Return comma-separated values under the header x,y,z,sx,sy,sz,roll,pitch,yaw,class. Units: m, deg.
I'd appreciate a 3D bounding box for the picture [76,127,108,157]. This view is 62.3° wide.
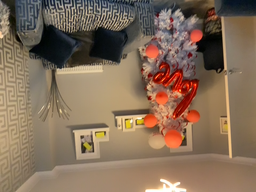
x,y,z,sx,sy,sz,roll,pitch,yaw,class
-0.570,0.730,3.370,0.490,0.450,0.020,-3,-179,-5,picture
